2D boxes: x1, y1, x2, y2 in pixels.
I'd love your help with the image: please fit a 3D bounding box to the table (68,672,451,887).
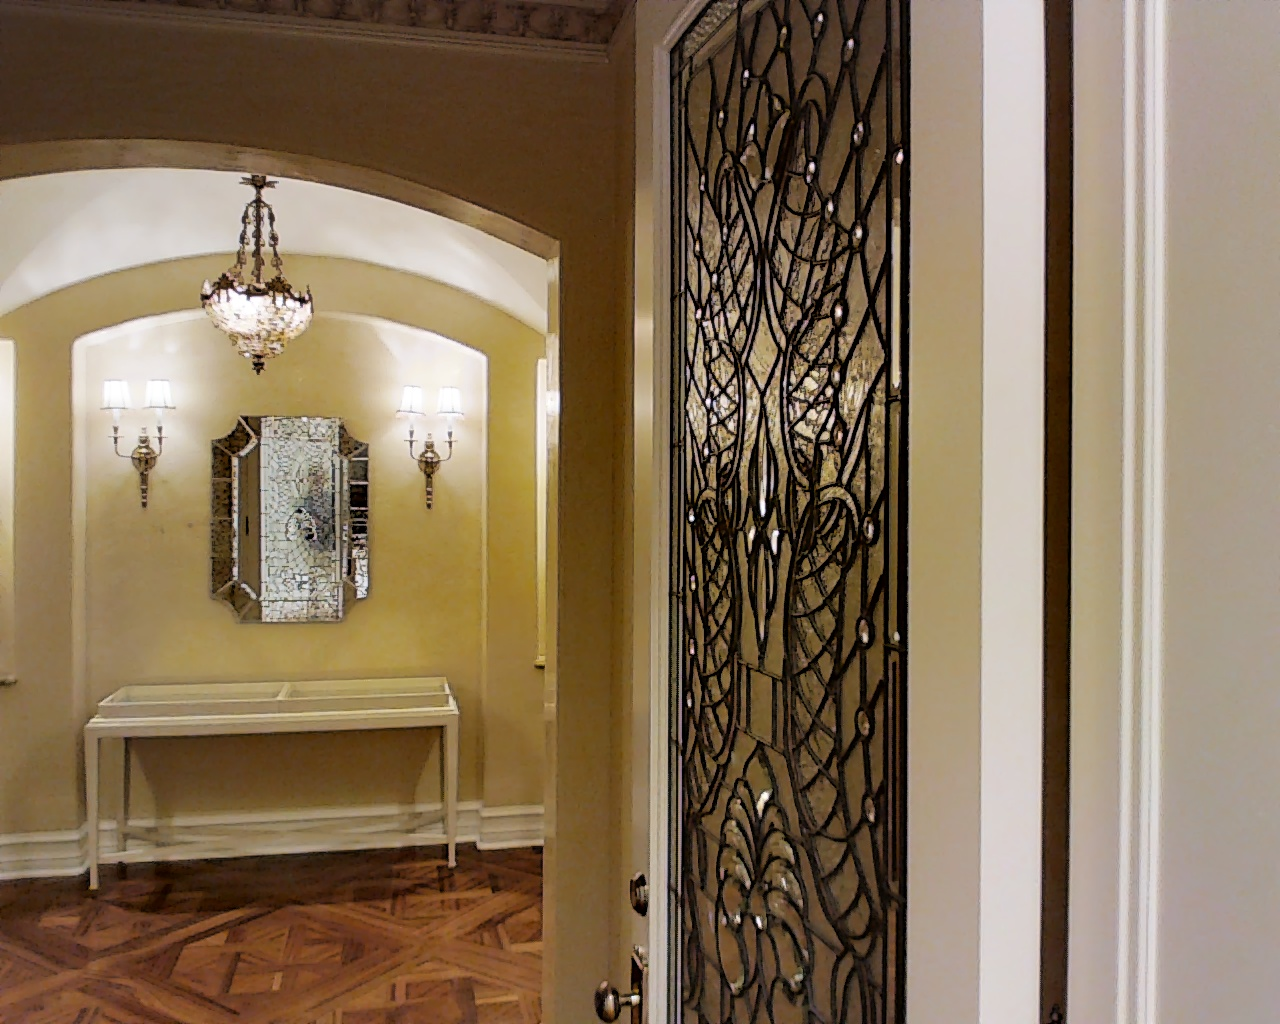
[{"bbox_3d":[-1.670,1.170,4.880,1.560,0.740,0.560,0,1,-14],"label":"table"}]
